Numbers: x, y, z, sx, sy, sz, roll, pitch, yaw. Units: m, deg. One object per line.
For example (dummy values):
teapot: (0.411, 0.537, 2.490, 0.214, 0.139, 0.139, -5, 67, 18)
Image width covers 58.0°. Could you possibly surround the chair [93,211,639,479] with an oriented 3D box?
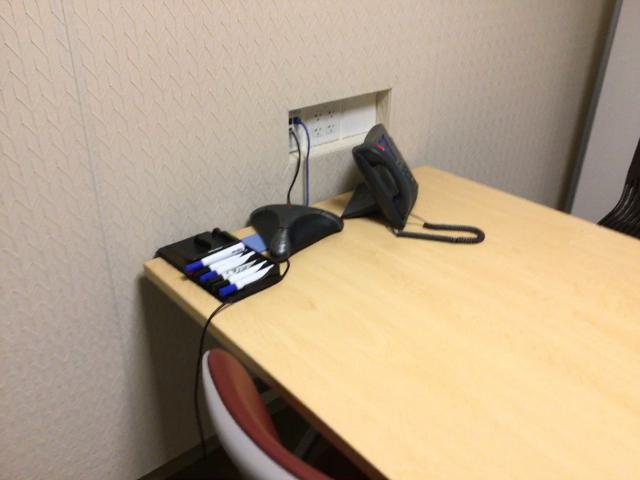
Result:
chair: (0.090, 0.500, 0.980, 0.570, 0.820, 0.640, -21, 33, -34)
